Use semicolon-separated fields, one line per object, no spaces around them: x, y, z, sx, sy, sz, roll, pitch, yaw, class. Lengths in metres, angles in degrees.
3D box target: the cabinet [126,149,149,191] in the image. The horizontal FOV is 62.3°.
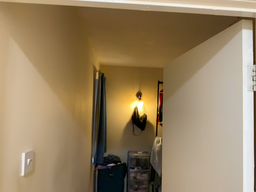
0.160;1.440;3.910;0.360;0.850;0.400;2;-3;-3;cabinet
